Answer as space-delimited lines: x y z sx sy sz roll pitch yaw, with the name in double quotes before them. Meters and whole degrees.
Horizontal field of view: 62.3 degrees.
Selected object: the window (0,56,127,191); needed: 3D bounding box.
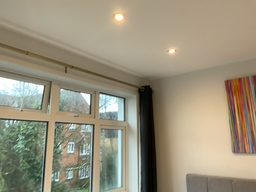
"window" -0.780 0.460 2.080 0.090 1.450 2.320 -10 -15 38
